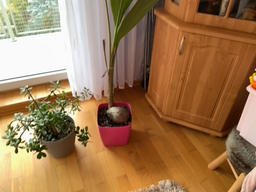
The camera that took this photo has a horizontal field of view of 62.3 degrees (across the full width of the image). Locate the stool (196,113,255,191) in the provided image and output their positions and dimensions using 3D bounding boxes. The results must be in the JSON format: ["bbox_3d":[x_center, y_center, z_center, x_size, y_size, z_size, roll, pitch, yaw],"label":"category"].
[{"bbox_3d":[0.720,0.370,1.280,0.410,0.410,0.290,-13,43,-18],"label":"stool"}]
